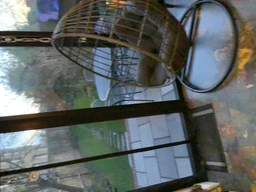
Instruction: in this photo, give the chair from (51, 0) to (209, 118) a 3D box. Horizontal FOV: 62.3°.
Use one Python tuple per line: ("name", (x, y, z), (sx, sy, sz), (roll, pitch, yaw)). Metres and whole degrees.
("chair", (-0.100, -0.410, 1.950), (0.880, 1.070, 0.950), (137, 125, -65))
